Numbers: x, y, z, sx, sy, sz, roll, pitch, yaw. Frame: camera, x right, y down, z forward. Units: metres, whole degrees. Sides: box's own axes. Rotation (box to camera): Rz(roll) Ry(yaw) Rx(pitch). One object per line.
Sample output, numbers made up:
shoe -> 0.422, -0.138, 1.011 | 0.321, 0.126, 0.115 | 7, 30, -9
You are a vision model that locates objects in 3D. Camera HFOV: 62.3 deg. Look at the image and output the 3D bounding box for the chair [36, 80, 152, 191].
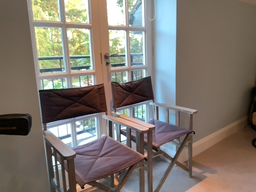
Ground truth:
chair -> -0.220, 0.380, 1.470 | 0.530, 0.890, 0.540 | -12, 15, -39
